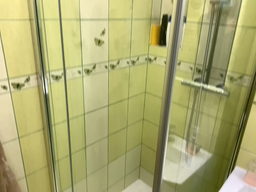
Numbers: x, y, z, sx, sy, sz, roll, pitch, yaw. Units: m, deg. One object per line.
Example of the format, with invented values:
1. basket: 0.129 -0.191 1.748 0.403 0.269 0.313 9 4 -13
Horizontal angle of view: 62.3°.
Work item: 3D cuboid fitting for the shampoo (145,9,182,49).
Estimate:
1. shampoo: 0.260 -0.500 1.580 0.210 0.260 0.120 21 28 37
